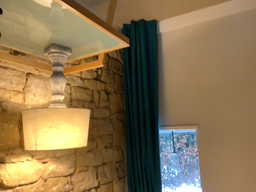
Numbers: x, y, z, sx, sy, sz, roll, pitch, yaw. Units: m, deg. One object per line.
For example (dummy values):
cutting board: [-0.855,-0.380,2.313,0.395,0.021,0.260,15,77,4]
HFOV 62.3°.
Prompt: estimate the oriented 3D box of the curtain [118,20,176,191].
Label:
curtain: [0.230,0.340,2.650,0.520,2.480,0.280,-7,171,24]
